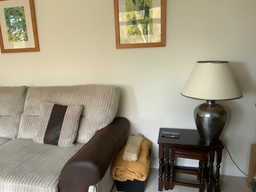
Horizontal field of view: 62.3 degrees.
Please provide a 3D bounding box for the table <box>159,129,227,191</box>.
[{"bbox_3d":[0.550,0.580,1.910,0.510,0.420,0.370,2,13,11],"label":"table"}]

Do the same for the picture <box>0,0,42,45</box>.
[{"bbox_3d":[-1.110,-0.790,2.160,0.450,0.530,0.030,2,13,12],"label":"picture"}]

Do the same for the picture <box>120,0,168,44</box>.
[{"bbox_3d":[0.140,-0.750,1.880,0.420,0.550,0.040,3,13,15],"label":"picture"}]

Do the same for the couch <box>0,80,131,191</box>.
[{"bbox_3d":[-1.100,0.370,1.870,2.080,0.860,1.060,2,13,12],"label":"couch"}]
